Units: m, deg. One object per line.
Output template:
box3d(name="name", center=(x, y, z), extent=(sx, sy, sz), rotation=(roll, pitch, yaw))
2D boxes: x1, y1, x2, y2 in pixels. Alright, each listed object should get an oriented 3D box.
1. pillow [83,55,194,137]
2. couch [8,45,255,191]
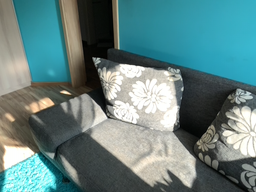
box3d(name="pillow", center=(0.060, -0.040, 1.580), extent=(0.700, 0.380, 0.310), rotation=(18, 17, 25))
box3d(name="couch", center=(0.270, 0.350, 1.280), extent=(1.980, 0.740, 0.980), rotation=(25, 38, 37))
